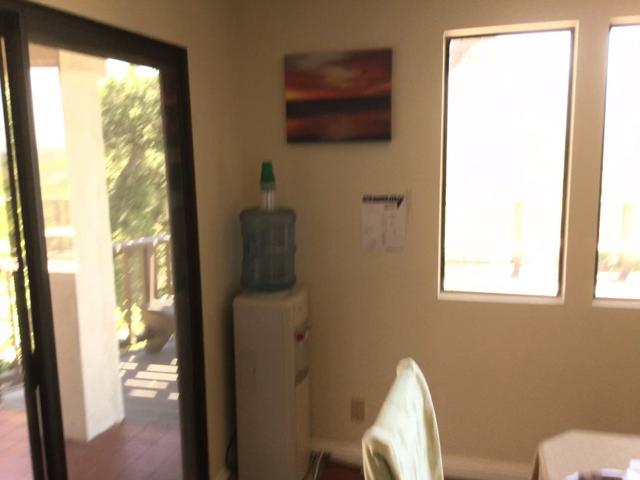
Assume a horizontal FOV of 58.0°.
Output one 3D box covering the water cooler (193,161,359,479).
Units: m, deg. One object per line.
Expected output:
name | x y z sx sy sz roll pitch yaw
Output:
water cooler | -0.190 0.400 2.810 0.520 1.490 0.460 -4 4 21

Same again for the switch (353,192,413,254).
switch | 0.300 -0.080 2.750 0.250 0.270 0.070 -4 6 20

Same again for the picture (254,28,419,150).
picture | 0.070 -0.690 2.720 0.730 0.440 0.130 -4 6 20
